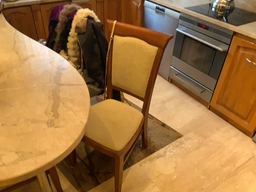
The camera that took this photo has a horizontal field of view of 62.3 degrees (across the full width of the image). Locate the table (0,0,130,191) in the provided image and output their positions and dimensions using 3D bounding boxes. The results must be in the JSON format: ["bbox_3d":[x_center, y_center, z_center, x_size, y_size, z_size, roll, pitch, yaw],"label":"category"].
[{"bbox_3d":[-0.970,-0.090,1.650,0.650,0.880,2.400,-22,44,-29],"label":"table"}]
